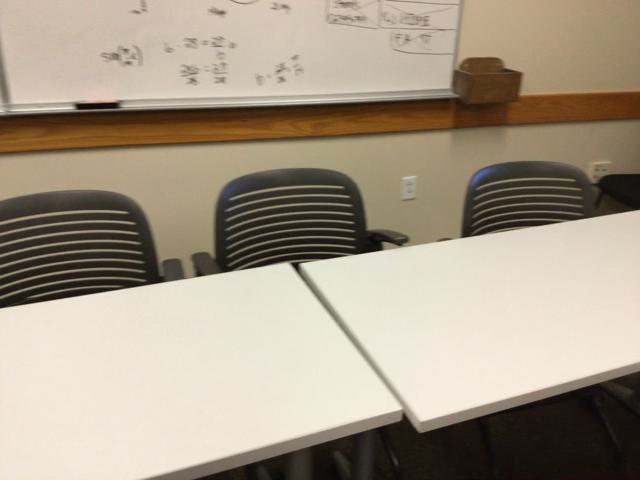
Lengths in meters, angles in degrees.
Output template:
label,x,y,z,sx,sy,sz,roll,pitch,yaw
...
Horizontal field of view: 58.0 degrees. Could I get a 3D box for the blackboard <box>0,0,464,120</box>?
label,x,y,z,sx,sy,sz,roll,pitch,yaw
blackboard,-0.840,-0.990,1.980,2.910,1.120,0.150,-4,26,-15
